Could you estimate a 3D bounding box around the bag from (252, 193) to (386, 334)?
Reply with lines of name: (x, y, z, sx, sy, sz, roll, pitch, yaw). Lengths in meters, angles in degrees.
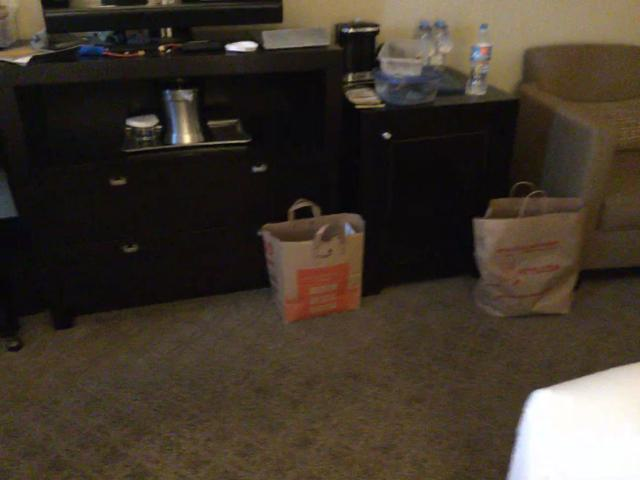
bag: (-0.020, 0.080, 2.190, 0.430, 0.410, 0.280, -5, 29, -13)

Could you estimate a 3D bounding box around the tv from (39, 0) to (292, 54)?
tv: (-0.510, -0.950, 1.930, 0.820, 0.590, 0.160, -5, 29, -13)

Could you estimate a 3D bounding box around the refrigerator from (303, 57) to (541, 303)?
refrigerator: (0.350, -0.290, 2.440, 0.690, 0.800, 0.680, -5, 29, -13)

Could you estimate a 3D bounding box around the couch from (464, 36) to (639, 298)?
couch: (1.260, -0.380, 2.480, 0.820, 0.800, 0.930, -4, 29, -12)
